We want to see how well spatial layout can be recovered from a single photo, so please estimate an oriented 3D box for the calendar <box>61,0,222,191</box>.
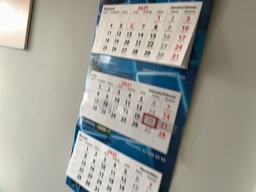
[{"bbox_3d":[0.010,-0.050,0.540,0.340,0.870,0.050,18,9,41],"label":"calendar"}]
